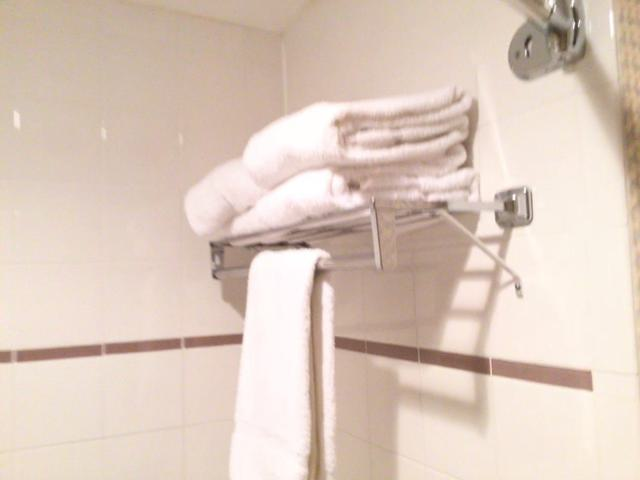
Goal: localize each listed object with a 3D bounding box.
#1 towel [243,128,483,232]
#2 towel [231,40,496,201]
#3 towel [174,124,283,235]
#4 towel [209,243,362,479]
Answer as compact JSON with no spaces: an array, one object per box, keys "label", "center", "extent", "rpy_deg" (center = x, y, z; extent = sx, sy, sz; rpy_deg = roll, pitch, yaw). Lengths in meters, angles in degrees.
[{"label":"towel","center":[0.050,-0.070,0.810],"extent":[0.240,0.100,0.240],"rpy_deg":[0,-3,-29]},{"label":"towel","center":[0.050,-0.140,0.790],"extent":[0.270,0.140,0.240],"rpy_deg":[0,-3,-29]},{"label":"towel","center":[-0.160,-0.090,0.970],"extent":[0.110,0.150,0.220],"rpy_deg":[0,-3,-29]},{"label":"towel","center":[-0.060,0.210,0.840],"extent":[0.130,0.400,0.230],"rpy_deg":[0,-3,-29]}]
